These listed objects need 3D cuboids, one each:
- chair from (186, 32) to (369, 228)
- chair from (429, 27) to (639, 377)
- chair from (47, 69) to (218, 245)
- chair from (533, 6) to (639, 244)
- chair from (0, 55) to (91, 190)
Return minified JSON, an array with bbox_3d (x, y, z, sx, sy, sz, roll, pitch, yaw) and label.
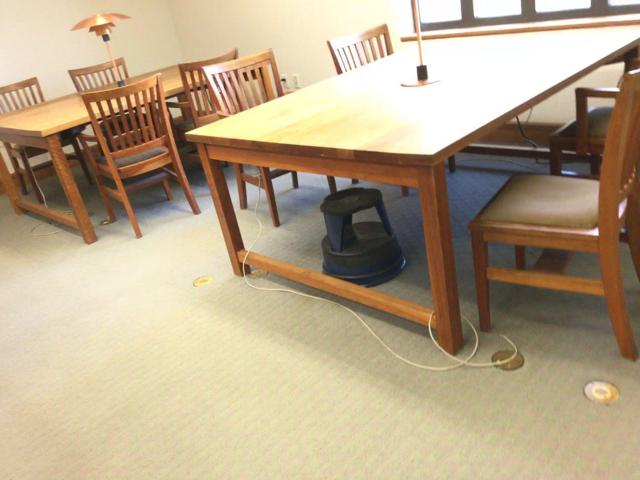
[{"bbox_3d":[-0.230,-0.670,3.470,0.700,0.950,0.630,-26,25,-38],"label":"chair"},{"bbox_3d":[0.850,-0.180,1.980,0.620,0.950,0.610,-26,26,-38],"label":"chair"},{"bbox_3d":[-1.190,-0.550,3.710,0.590,0.930,0.690,-26,26,-38],"label":"chair"},{"bbox_3d":[1.320,-0.510,2.460,0.530,0.900,0.600,-22,23,-39],"label":"chair"},{"bbox_3d":[-2.380,-0.960,4.710,0.520,0.940,0.620,-26,25,-38],"label":"chair"}]
